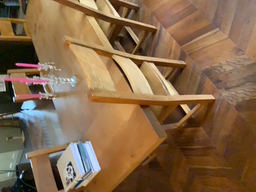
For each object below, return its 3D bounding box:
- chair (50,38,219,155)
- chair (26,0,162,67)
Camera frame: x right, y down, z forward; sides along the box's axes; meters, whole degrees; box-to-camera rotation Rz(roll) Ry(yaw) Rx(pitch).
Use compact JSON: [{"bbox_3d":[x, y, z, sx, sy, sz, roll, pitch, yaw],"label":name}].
[{"bbox_3d":[0.080,0.000,1.550,0.500,1.060,0.450,-54,53,36],"label":"chair"},{"bbox_3d":[-0.290,-0.640,1.970,0.490,1.060,0.450,-54,53,36],"label":"chair"}]
